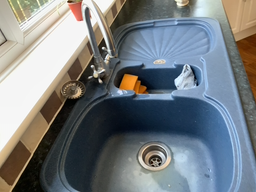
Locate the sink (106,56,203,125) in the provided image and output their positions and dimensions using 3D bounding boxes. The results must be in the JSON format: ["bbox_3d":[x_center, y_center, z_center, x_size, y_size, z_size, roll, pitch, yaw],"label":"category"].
[{"bbox_3d":[0.110,-0.020,0.820,0.320,0.200,0.160,0,42,14],"label":"sink"}]

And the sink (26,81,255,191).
[{"bbox_3d":[0.070,0.180,0.640,0.500,0.250,0.400,0,42,14],"label":"sink"}]
